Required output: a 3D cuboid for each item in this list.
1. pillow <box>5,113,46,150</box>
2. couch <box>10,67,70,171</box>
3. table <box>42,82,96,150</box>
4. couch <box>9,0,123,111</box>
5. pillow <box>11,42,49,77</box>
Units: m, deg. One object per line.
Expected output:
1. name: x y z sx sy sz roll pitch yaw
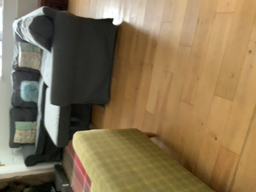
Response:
1. pillow: -1.890 0.660 3.940 0.180 0.470 0.480 27 151 54
2. couch: -1.660 0.360 3.880 0.890 0.810 1.570 28 113 55
3. table: -0.850 0.220 2.920 0.860 0.450 0.650 28 113 55
4. couch: -1.100 -0.640 2.950 2.450 0.860 0.920 28 113 55
5. pillow: -1.660 -0.620 3.600 0.140 0.420 0.450 32 144 51
